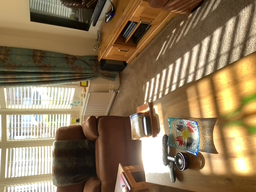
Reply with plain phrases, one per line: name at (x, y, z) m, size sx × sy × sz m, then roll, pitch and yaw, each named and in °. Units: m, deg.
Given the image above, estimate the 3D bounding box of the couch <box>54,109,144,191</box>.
couch at (-0.490, 0.860, 2.990) m, size 1.020 × 0.960 × 1.150 m, roll 146°, pitch 122°, yaw -61°

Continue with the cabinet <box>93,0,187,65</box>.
cabinet at (0.020, -0.910, 2.510) m, size 1.390 × 0.490 × 0.500 m, roll 144°, pitch 123°, yaw -61°

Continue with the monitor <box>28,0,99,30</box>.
monitor at (-0.670, -1.110, 2.260) m, size 1.290 × 0.740 × 0.060 m, roll 148°, pitch 120°, yaw -63°
